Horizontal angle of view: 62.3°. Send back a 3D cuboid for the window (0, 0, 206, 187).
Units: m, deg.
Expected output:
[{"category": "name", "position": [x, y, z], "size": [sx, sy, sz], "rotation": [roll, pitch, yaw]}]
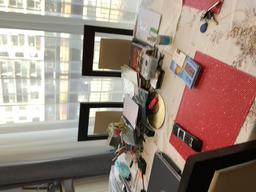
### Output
[{"category": "window", "position": [-0.700, -0.380, 1.720], "size": [0.180, 2.850, 2.650], "rotation": [-131, 45, -56]}]
